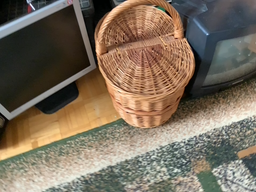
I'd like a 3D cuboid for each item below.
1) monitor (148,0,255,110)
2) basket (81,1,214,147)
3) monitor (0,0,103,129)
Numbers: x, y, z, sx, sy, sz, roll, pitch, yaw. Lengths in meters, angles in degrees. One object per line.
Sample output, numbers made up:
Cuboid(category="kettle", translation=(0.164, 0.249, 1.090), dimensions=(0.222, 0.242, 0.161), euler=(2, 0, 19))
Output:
Cuboid(category="monitor", translation=(0.330, -0.240, 0.800), dimensions=(0.380, 0.350, 0.360), euler=(-19, 58, -9))
Cuboid(category="basket", translation=(0.040, -0.080, 0.750), dimensions=(0.280, 0.270, 0.370), euler=(-18, 58, -9))
Cuboid(category="monitor", translation=(-0.290, -0.100, 0.710), dimensions=(0.400, 0.390, 0.040), euler=(-33, 61, -18))
